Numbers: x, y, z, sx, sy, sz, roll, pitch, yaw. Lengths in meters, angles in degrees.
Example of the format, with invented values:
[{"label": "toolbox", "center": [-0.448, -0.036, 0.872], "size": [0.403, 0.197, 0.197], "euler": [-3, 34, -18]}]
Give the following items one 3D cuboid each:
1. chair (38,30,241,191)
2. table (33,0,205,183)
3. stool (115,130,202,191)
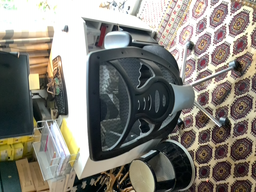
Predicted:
[{"label": "chair", "center": [0.090, -0.010, 1.270], "size": [0.610, 1.000, 0.580], "euler": [22, 110, 46]}, {"label": "table", "center": [-0.190, -0.110, 1.780], "size": [1.010, 0.740, 0.990], "euler": [46, 125, 36]}, {"label": "stool", "center": [0.220, 0.580, 1.640], "size": [0.400, 0.380, 0.410], "euler": [43, 123, 38]}]
